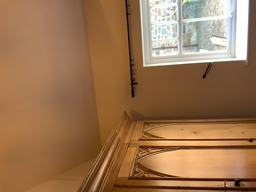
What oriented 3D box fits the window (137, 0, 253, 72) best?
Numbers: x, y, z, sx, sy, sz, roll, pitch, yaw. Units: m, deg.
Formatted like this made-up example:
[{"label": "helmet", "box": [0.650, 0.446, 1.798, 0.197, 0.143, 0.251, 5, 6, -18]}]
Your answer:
[{"label": "window", "box": [0.720, -0.950, 2.490, 0.530, 1.170, 1.200, -59, -34, -75]}]
